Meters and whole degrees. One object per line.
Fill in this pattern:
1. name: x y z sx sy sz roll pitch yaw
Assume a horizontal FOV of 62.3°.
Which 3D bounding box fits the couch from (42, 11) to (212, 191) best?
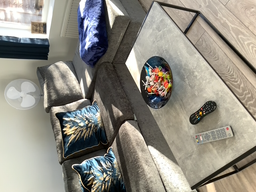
1. couch: -0.280 0.210 2.180 0.960 0.750 2.120 -60 44 42
